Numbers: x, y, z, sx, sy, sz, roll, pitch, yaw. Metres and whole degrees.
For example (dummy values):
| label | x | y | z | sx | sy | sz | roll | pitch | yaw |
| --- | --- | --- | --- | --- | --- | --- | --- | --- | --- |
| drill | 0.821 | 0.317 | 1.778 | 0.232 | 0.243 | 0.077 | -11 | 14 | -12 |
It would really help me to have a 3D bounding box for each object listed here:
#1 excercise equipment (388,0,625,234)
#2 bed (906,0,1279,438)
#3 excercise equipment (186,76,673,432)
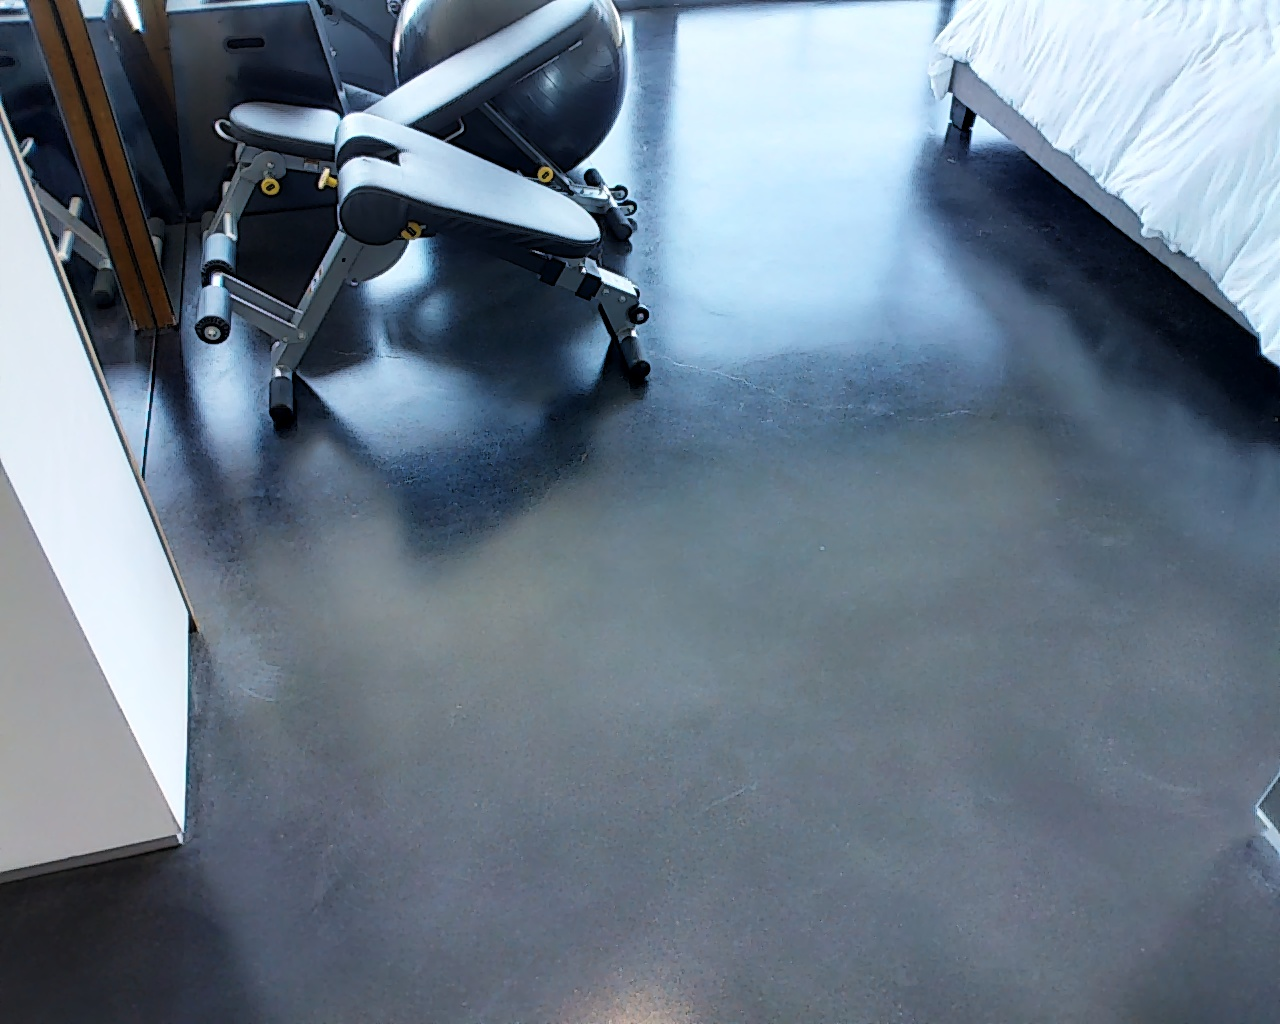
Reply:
| label | x | y | z | sx | sy | sz | roll | pitch | yaw |
| --- | --- | --- | --- | --- | --- | --- | --- | --- | --- |
| excercise equipment | -0.400 | -1.260 | 3.250 | 0.610 | 0.610 | 0.450 | -10 | 44 | -12 |
| bed | 2.000 | -1.260 | 3.310 | 1.410 | 0.740 | 2.150 | -10 | 44 | -12 |
| excercise equipment | -0.490 | -0.650 | 2.670 | 1.040 | 0.610 | 0.440 | -10 | 44 | -12 |
